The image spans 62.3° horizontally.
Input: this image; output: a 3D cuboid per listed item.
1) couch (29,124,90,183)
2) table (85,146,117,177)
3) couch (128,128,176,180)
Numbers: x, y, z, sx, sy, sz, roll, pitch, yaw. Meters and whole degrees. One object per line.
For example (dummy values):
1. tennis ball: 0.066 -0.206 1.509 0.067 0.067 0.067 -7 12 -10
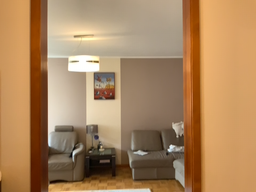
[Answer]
1. couch: -1.360 1.130 4.410 0.990 0.960 0.960 0 0 -3
2. table: -0.560 1.400 4.600 0.650 0.450 0.640 0 0 -3
3. couch: 0.470 1.180 4.530 0.870 0.830 0.920 0 0 -3
